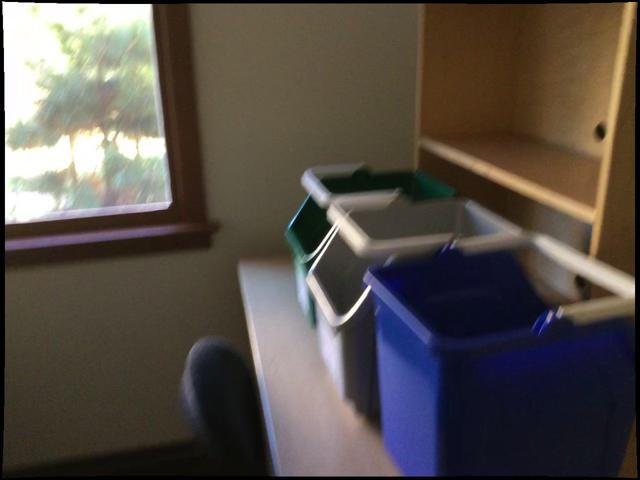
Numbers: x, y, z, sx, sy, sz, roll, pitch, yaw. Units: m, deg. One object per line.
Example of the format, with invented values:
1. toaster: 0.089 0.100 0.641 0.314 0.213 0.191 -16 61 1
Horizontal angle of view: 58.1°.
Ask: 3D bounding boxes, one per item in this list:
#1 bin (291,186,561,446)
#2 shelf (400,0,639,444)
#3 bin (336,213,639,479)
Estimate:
1. bin: 0.180 0.120 1.150 0.399 0.341 0.350 -7 21 -11
2. shelf: 0.509 -0.180 1.290 0.379 0.792 0.850 -7 21 -11
3. bin: 0.279 0.201 0.920 0.409 0.341 0.410 -7 21 -11
